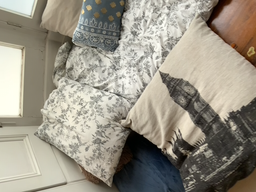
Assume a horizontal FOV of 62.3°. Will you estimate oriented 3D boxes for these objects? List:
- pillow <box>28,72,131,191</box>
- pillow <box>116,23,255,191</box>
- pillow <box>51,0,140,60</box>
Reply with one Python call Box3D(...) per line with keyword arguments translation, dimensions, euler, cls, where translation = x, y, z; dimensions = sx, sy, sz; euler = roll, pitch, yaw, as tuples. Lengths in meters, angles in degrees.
Box3D(translation=(-0.310, 0.160, 1.170), dimensions=(0.160, 0.400, 0.600), euler=(24, -176, -44), cls="pillow")
Box3D(translation=(0.260, 0.120, 0.800), dimensions=(0.160, 0.590, 0.460), euler=(5, -143, -44), cls="pillow")
Box3D(translation=(-0.170, -0.480, 1.160), dimensions=(0.130, 0.310, 0.470), euler=(30, 166, 42), cls="pillow")
